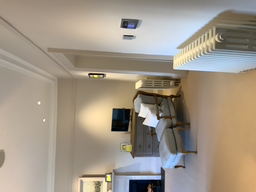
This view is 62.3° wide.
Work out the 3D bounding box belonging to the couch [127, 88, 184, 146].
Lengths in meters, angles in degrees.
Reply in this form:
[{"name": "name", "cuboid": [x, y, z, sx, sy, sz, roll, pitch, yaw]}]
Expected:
[{"name": "couch", "cuboid": [0.490, 0.440, 4.350, 0.760, 0.920, 0.860, 101, 169, -51]}]
